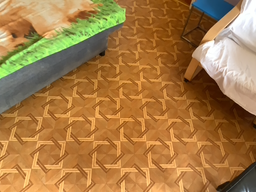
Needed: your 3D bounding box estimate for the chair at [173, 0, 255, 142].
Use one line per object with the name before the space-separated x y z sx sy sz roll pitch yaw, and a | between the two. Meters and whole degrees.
chair | 0.960 -0.390 1.470 0.670 0.890 0.910 39 59 19
